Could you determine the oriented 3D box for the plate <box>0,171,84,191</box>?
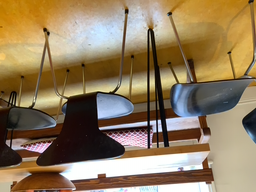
[{"bbox_3d":[-0.470,0.540,1.180,0.340,0.180,0.310,-8,155,10],"label":"plate"}]
